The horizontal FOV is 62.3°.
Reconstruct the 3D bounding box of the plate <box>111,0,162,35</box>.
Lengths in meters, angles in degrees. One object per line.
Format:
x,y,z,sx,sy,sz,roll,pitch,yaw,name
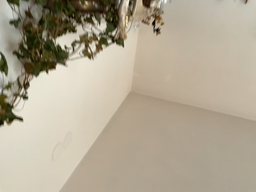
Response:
0.070,-0.520,1.210,0.190,0.240,0.430,13,-152,10,plate
